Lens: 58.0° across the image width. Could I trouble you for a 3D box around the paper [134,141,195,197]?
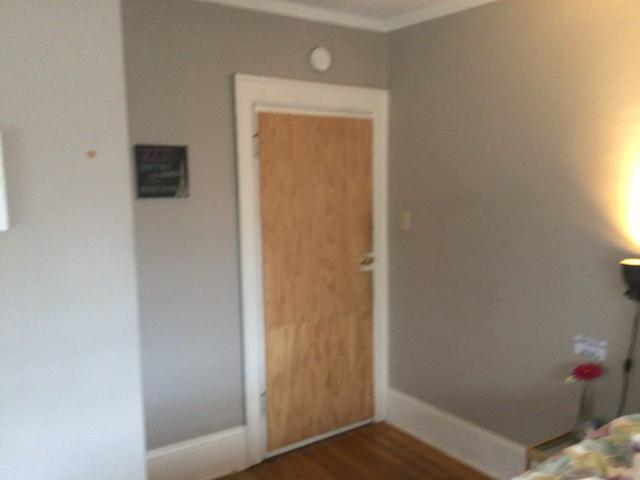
[{"bbox_3d":[-0.730,-0.330,2.720,0.250,0.250,0.130,-2,5,-32],"label":"paper"}]
